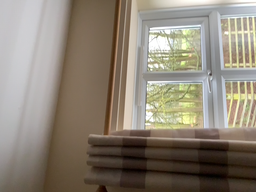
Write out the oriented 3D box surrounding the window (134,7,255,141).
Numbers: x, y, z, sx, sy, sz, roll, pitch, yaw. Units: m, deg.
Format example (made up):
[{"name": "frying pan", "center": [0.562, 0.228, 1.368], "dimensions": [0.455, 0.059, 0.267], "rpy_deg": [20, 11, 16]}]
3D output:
[{"name": "window", "center": [0.530, -0.160, 1.260], "dimensions": [0.060, 0.940, 0.820], "rpy_deg": [63, -151, -67]}]
